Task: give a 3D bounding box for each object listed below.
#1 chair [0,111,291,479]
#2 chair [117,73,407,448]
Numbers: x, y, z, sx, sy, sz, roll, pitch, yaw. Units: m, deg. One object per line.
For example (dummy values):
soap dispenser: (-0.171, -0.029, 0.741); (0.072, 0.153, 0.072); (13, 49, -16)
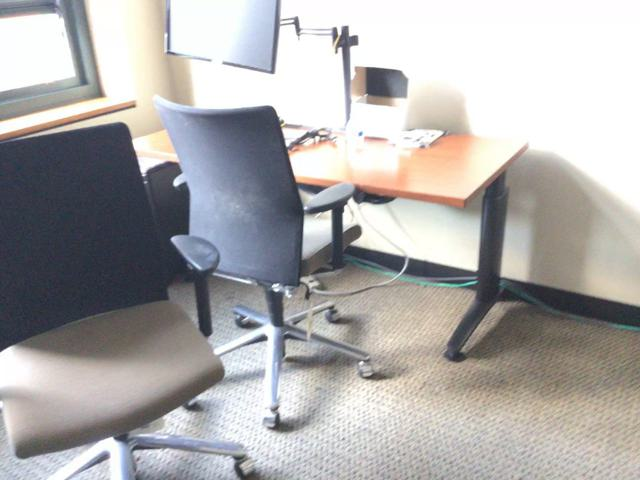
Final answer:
chair: (-0.560, 0.260, 1.500); (0.640, 1.010, 0.670); (-19, 28, -33)
chair: (-0.160, 0.010, 1.970); (0.700, 1.020, 0.540); (14, 28, 32)
